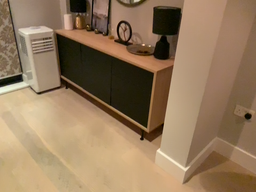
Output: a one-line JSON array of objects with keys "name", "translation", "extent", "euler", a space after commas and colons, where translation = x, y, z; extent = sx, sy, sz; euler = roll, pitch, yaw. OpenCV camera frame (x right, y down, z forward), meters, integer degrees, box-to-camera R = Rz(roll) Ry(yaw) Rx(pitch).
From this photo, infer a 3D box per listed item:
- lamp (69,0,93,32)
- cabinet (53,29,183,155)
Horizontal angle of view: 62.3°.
[{"name": "lamp", "translation": [-0.600, -1.050, 2.710], "extent": [0.230, 0.390, 0.180], "euler": [28, 37, 35]}, {"name": "cabinet", "translation": [-0.230, -0.160, 2.460], "extent": [1.560, 0.850, 0.420], "euler": [29, 38, 36]}]
